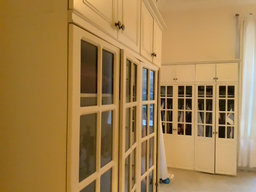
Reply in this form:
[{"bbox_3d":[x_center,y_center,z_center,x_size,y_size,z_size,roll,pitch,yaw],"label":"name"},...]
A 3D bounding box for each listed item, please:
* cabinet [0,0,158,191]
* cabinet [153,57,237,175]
[{"bbox_3d":[-0.230,0.430,1.450,0.550,2.140,1.530,1,1,19],"label":"cabinet"},{"bbox_3d":[1.350,0.360,4.420,1.540,2.190,0.570,1,1,18],"label":"cabinet"}]
